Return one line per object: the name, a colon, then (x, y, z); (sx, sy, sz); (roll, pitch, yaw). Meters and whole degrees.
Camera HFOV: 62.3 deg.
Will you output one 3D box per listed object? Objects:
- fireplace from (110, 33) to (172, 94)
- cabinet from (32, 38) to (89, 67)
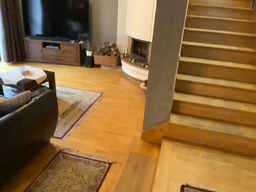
fireplace: (0.340, -0.810, 4.940); (1.150, 1.010, 1.170); (9, 25, 11)
cabinet: (-1.770, -1.160, 5.650); (1.360, 0.560, 0.430); (5, 24, 3)
